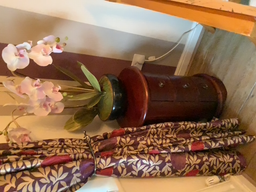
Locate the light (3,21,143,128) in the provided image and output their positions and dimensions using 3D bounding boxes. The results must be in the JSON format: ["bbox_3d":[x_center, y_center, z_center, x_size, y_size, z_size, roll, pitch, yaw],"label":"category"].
[{"bbox_3d":[-0.300,-0.100,1.120,0.300,0.610,0.410,41,123,52],"label":"light"}]
